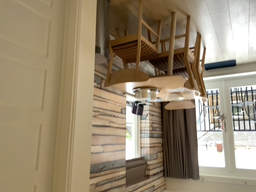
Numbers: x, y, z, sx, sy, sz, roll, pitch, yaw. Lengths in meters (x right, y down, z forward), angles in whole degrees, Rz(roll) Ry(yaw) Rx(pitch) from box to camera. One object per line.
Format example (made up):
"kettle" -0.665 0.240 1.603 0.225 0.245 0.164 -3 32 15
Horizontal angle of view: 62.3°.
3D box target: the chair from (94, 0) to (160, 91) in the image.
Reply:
"chair" 0.010 -0.530 2.340 0.490 0.820 0.560 -5 168 29
